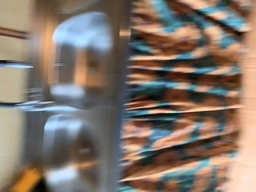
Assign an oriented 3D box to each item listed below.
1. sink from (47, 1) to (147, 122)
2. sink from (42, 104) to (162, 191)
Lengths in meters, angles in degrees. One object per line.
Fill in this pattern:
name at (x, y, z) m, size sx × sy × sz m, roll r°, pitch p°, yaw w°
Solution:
sink at (-0.150, -0.120, 0.860) m, size 0.410 × 0.180 × 0.370 m, roll 8°, pitch 95°, yaw 47°
sink at (-0.130, 0.270, 0.930) m, size 0.410 × 0.320 × 0.420 m, roll 8°, pitch 95°, yaw 47°
